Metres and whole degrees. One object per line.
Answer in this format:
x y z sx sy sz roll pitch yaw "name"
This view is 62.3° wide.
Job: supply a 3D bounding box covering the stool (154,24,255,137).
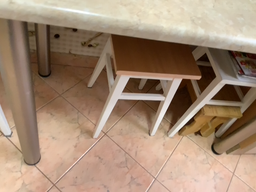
0.380 -0.040 1.030 0.300 0.450 0.310 4 54 -18 "stool"
